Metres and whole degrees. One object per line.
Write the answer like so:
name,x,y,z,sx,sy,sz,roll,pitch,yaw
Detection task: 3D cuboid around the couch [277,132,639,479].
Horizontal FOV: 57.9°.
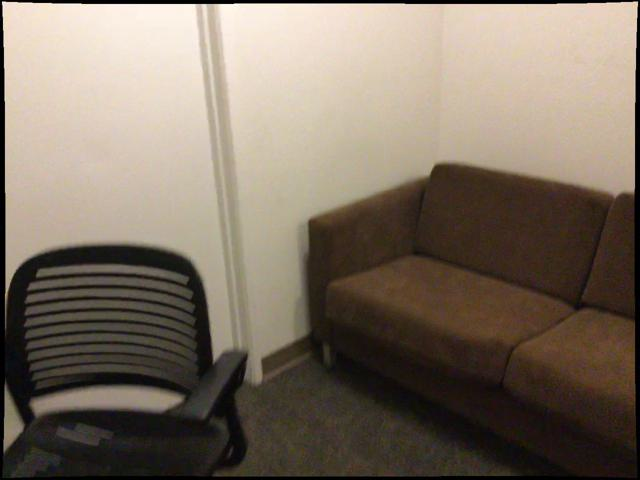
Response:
couch,0.799,0.220,1.910,0.940,0.751,1.749,-22,30,-38

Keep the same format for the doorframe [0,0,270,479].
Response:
doorframe,-0.669,-0.250,1.640,1.010,1.952,0.180,-22,30,-38

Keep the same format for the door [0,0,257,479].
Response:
door,-0.679,-0.230,1.660,0.920,1.932,0.160,-22,30,-38
